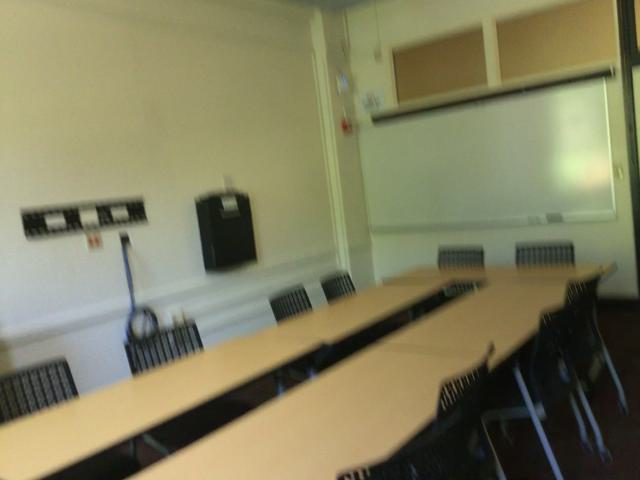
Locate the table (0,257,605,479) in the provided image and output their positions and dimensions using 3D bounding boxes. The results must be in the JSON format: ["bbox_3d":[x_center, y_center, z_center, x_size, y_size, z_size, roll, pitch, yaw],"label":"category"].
[{"bbox_3d":[0.130,0.810,2.660,1.490,0.750,4.080,-2,7,35],"label":"table"}]

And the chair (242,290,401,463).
[{"bbox_3d":[0.020,0.730,3.330,0.630,0.770,0.560,-2,7,35],"label":"chair"}]

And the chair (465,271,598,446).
[{"bbox_3d":[1.190,0.600,3.200,0.490,0.750,0.650,-2,7,35],"label":"chair"}]

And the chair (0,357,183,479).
[{"bbox_3d":[-0.950,0.950,2.160,0.590,0.810,0.610,-2,7,35],"label":"chair"}]

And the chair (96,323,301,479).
[{"bbox_3d":[-0.540,0.870,2.680,0.540,0.790,0.640,-2,7,38],"label":"chair"}]
